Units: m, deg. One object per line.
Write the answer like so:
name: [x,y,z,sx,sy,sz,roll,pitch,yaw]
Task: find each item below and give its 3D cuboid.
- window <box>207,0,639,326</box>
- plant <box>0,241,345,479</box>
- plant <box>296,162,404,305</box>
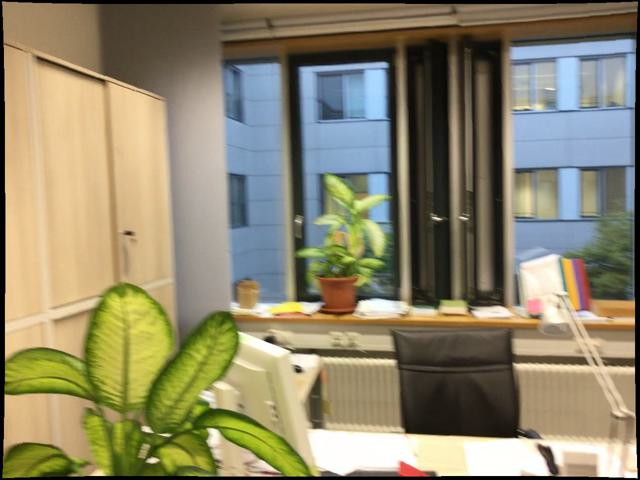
window: [0.809,-0.460,3.470,2.977,1.782,0.280,3,10,9]
plant: [-0.450,0.781,1.500,0.869,1.431,0.990,3,6,9]
plant: [0.210,-0.060,3.770,0.629,0.851,0.480,3,6,9]
